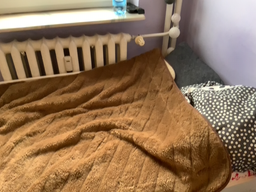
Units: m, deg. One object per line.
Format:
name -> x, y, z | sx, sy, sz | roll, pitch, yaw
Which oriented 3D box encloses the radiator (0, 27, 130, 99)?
radiator -> -0.400, -0.230, 1.420 | 0.800, 0.360, 0.160 | -9, 37, -14
